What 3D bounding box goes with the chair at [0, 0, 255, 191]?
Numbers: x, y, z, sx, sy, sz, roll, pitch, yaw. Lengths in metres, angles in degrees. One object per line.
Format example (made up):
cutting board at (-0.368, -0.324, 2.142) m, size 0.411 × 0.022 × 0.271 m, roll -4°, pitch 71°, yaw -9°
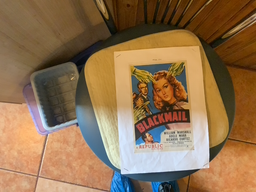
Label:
chair at (0.100, -0.030, 0.610) m, size 0.440 × 0.810 × 0.470 m, roll 15°, pitch 87°, yaw 1°
